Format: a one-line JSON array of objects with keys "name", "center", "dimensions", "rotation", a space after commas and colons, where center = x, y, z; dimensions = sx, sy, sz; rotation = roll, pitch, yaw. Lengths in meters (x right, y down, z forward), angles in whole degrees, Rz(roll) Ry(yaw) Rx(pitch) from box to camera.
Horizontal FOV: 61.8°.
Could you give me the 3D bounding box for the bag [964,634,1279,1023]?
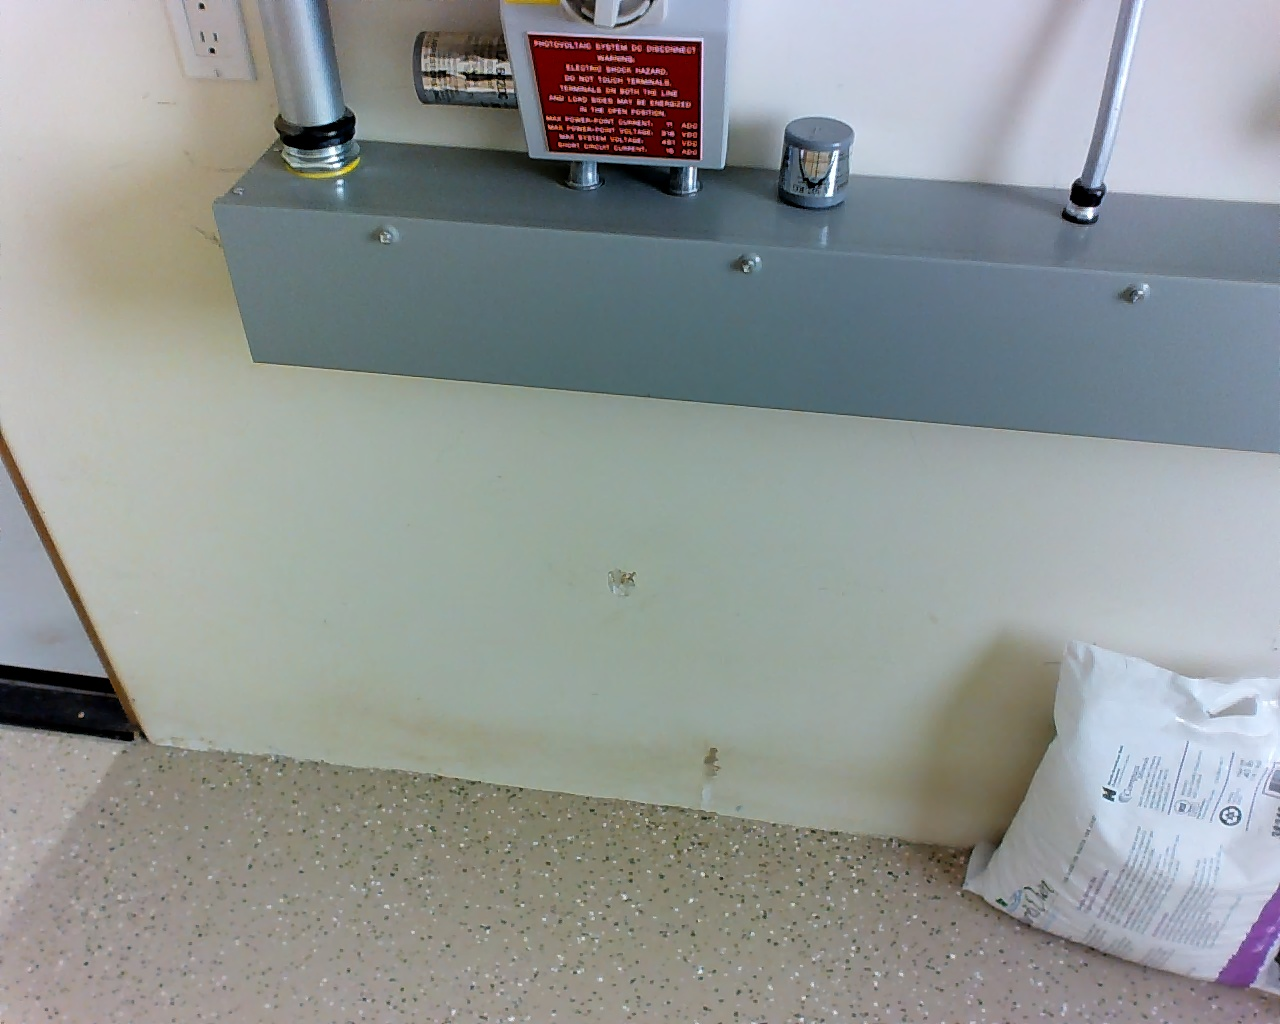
[{"name": "bag", "center": [0.690, 0.420, 1.330], "dimensions": [0.430, 0.550, 0.170], "rotation": [5, 42, 4]}]
